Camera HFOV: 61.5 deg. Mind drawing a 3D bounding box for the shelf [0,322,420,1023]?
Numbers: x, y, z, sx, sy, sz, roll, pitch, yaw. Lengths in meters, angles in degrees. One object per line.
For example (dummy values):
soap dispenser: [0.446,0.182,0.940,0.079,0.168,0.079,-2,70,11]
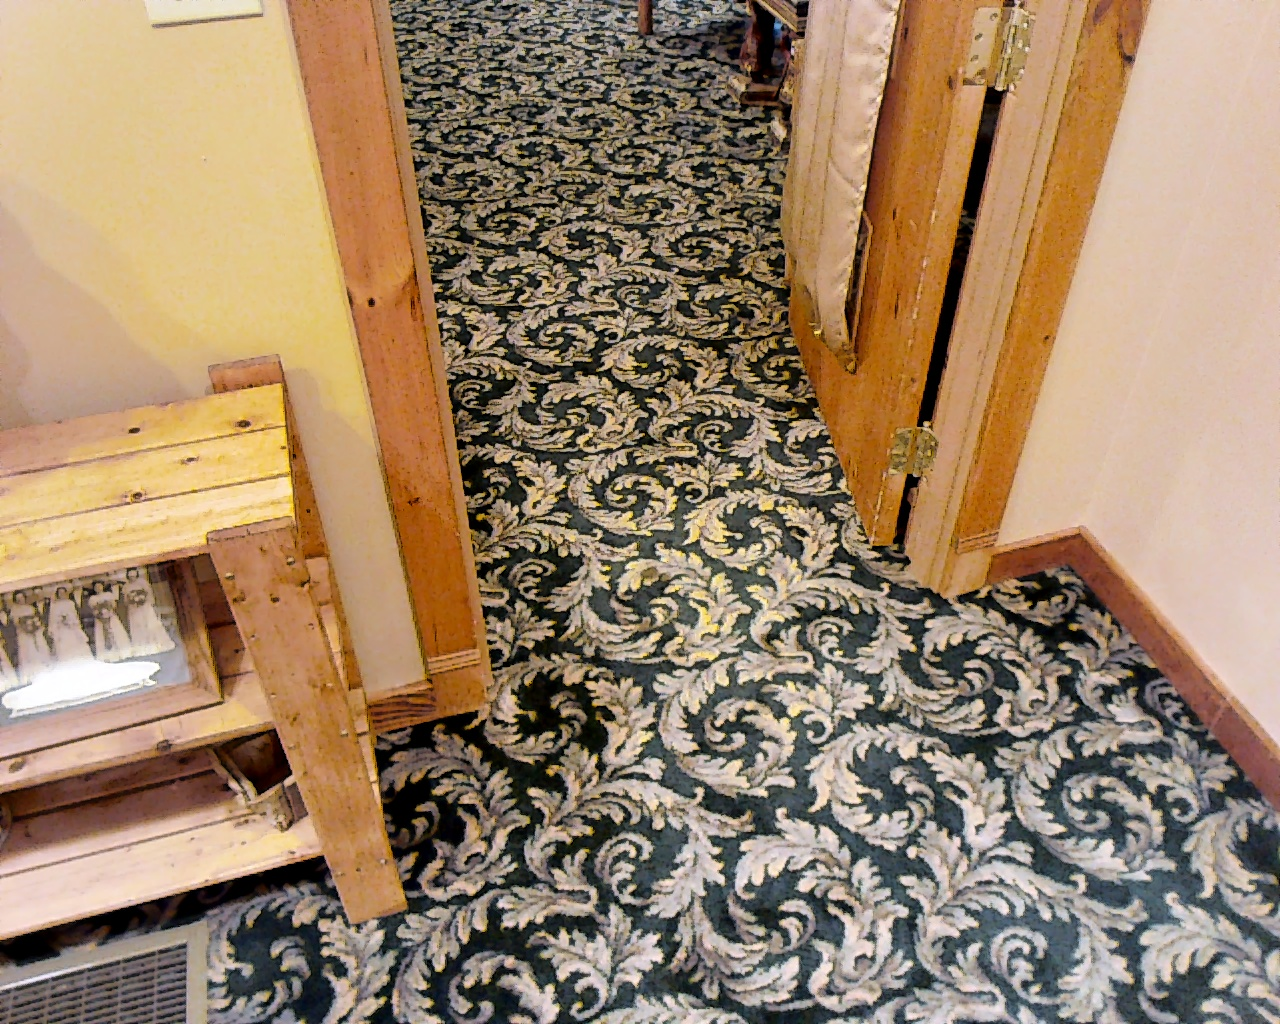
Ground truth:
shelf: [-0.810,0.280,1.430,0.860,0.840,0.400,-12,43,-13]
